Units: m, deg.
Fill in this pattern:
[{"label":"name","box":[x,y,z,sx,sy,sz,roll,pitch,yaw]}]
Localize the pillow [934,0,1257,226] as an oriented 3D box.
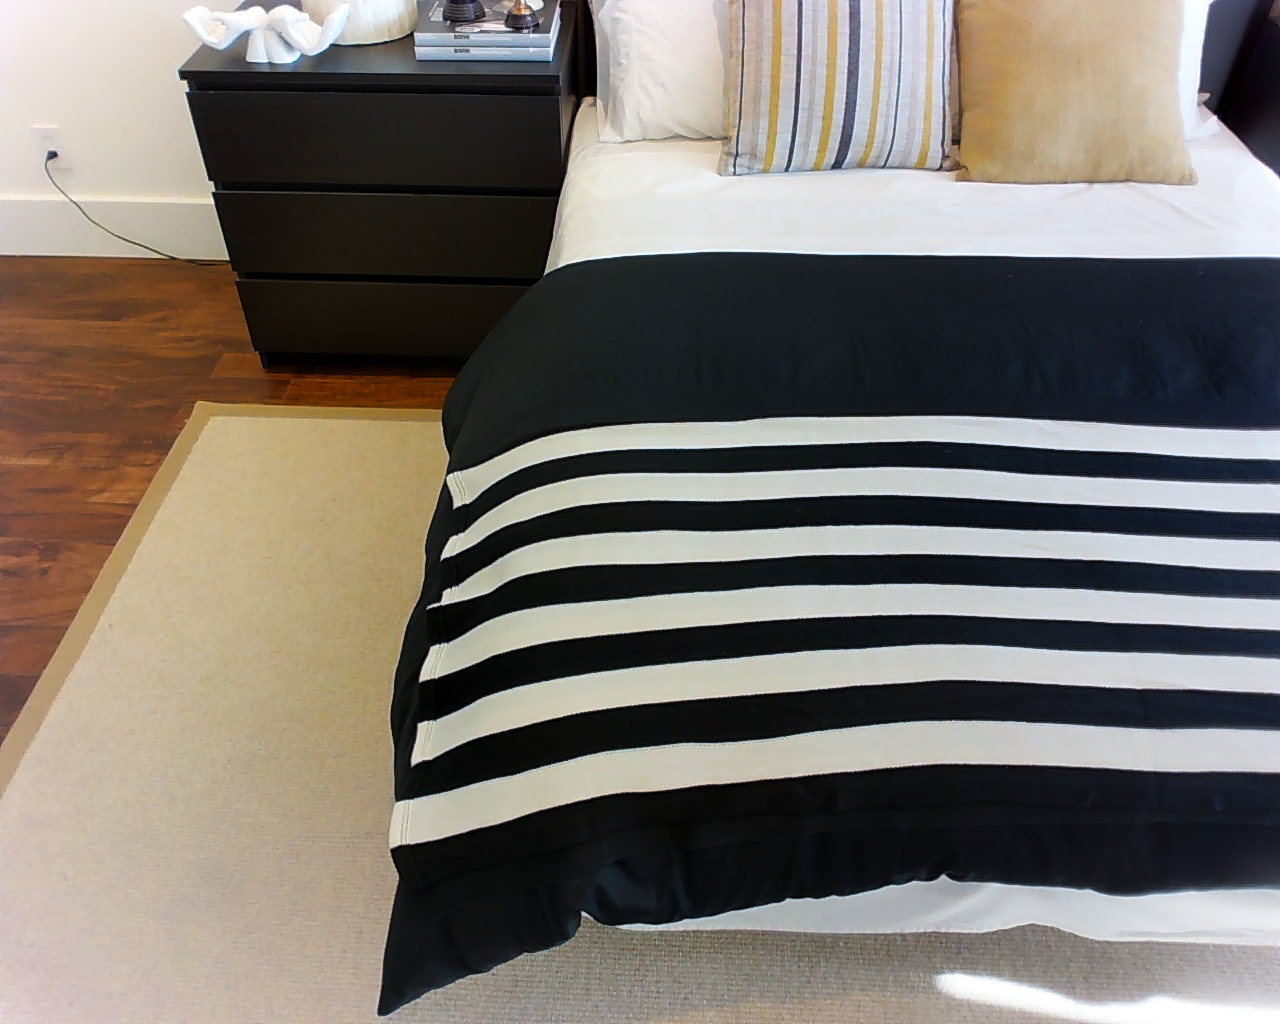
[{"label":"pillow","box":[0.920,-0.900,2.190,0.450,0.140,0.420,-34,-58,27]}]
